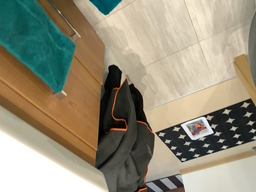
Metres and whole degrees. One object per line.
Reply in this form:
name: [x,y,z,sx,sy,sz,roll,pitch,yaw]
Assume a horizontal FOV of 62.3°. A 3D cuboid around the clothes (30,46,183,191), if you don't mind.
clothes: [-0.060,0.240,1.120,0.430,0.730,0.560,-24,132,20]
